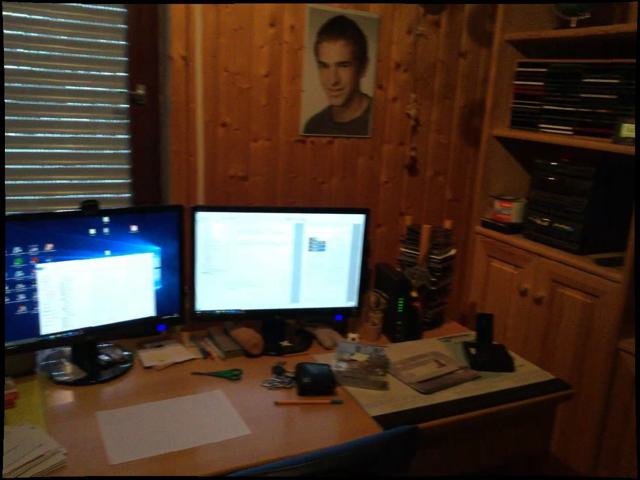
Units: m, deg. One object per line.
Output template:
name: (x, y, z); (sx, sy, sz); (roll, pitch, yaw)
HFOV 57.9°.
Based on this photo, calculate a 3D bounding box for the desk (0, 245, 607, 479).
desk: (-0.150, 0.681, 1.640); (1.569, 0.921, 0.830); (-9, 21, -26)

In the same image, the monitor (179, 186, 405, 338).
monitor: (-0.080, 0.050, 1.680); (0.609, 0.350, 0.180); (-5, 19, -15)

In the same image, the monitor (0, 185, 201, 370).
monitor: (-0.579, 0.080, 1.430); (0.520, 0.360, 0.140); (-9, 21, -26)
